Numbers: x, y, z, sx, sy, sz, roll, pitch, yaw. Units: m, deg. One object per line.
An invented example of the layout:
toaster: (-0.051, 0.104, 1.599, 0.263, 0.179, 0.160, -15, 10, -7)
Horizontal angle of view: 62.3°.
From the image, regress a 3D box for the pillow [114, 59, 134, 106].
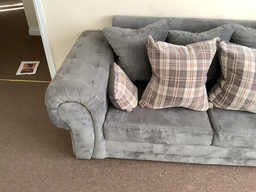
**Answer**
pillow: (-0.030, -0.100, 1.380, 0.110, 0.270, 0.350, -1, 9, -3)

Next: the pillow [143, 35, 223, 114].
pillow: (0.310, -0.150, 1.340, 0.410, 0.450, 0.280, 1, 17, 2)

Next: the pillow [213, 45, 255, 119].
pillow: (0.800, -0.090, 1.300, 0.440, 0.420, 0.180, 0, 17, 0)
